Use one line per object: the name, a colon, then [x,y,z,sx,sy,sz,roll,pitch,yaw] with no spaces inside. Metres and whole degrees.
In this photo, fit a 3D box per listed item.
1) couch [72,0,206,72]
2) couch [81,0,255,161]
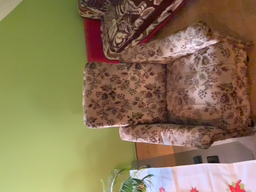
couch: [0.070,-1.090,2.090,2.030,0.730,0.900,-36,58,56]
couch: [0.240,-0.040,1.540,0.900,0.920,0.730,-12,79,61]
